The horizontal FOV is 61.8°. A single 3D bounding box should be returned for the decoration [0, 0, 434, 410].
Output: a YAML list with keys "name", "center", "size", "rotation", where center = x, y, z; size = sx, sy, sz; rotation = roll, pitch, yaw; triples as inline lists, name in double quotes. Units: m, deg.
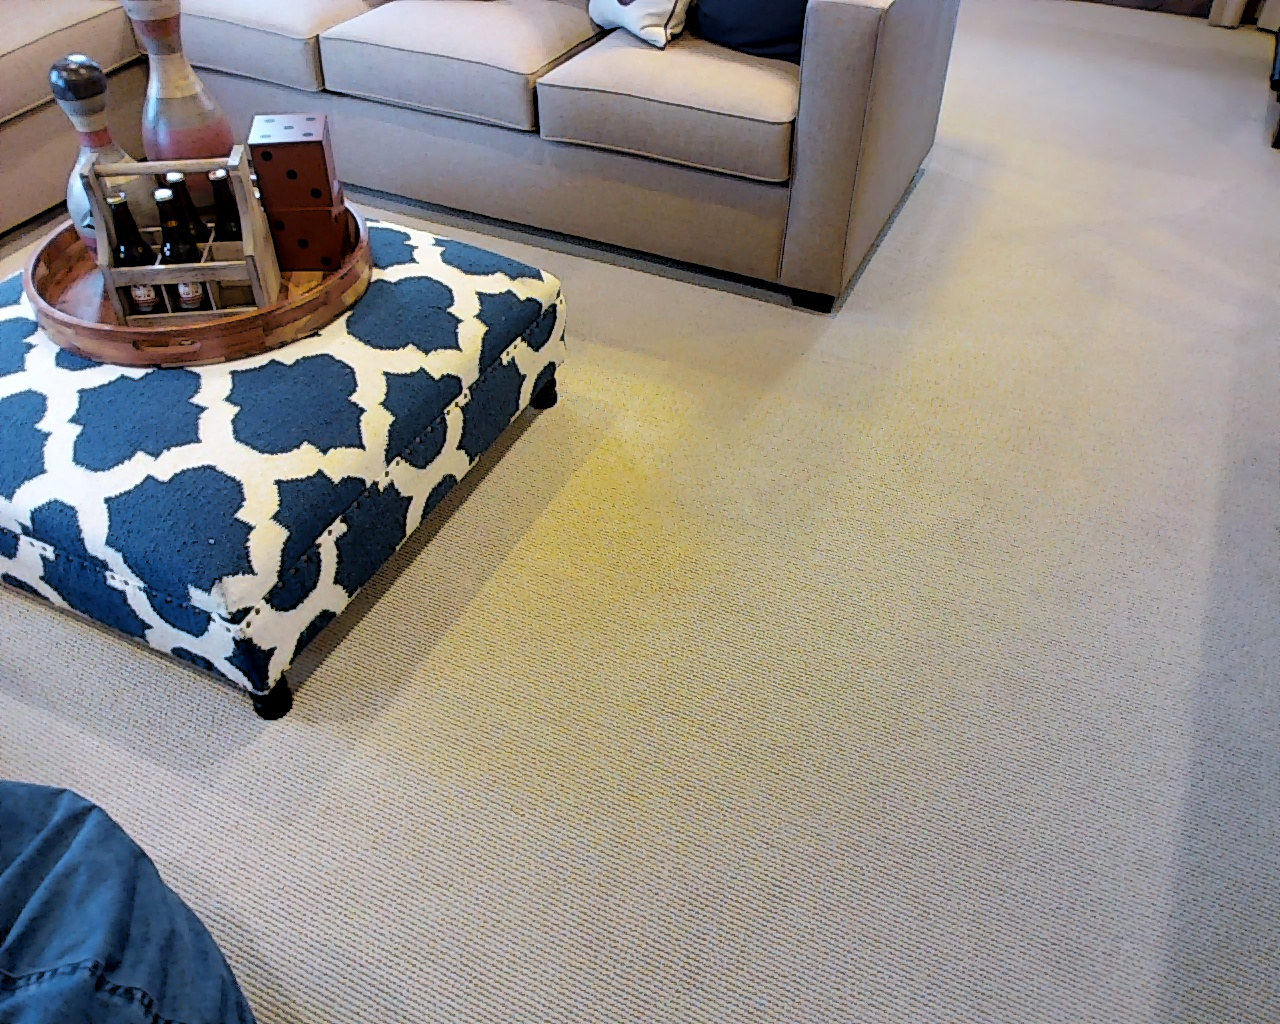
- name: "decoration"
  center: [-0.800, -0.620, 1.800]
  size: [0.600, 0.520, 0.600]
  rotation: [17, 45, 18]
